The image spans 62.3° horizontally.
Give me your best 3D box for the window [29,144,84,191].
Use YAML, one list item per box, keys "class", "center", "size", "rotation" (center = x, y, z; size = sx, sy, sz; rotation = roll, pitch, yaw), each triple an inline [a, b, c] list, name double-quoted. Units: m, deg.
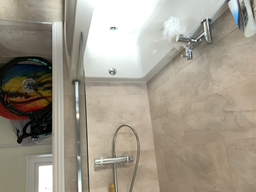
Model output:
- class: "window"
  center: [-0.920, 1.040, 2.750]
  size: [0.640, 0.760, 0.230]
  rotation: [0, 165, -18]
